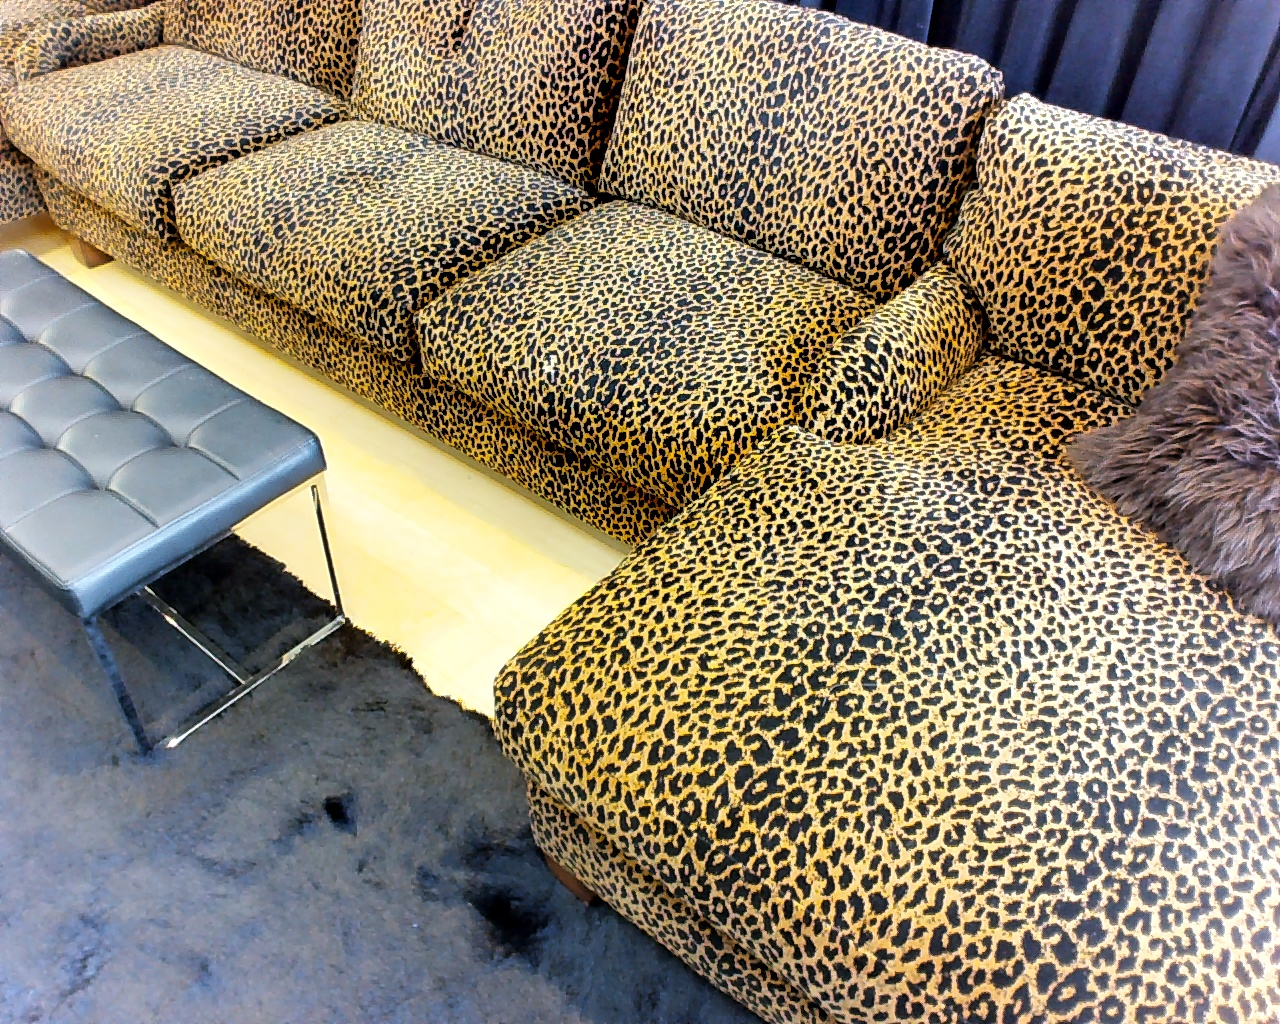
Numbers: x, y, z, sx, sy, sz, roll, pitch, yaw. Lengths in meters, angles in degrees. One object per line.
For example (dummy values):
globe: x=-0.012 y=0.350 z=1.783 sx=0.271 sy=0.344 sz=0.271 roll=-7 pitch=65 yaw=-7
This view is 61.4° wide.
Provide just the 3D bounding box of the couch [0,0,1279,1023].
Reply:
couch: x=-0.710 y=-0.610 z=2.350 sx=5.259 sy=0.930 sz=1.480 roll=28 pitch=49 yaw=27
